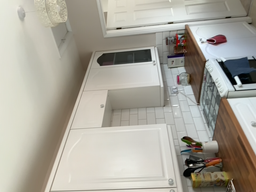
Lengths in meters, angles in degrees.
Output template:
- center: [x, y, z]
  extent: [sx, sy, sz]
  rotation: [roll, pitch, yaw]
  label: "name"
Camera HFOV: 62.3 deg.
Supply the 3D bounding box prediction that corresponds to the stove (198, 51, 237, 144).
- center: [0.850, 0.010, 2.120]
  extent: [0.620, 0.090, 0.680]
  rotation: [-88, -7, -51]
  label: "stove"
